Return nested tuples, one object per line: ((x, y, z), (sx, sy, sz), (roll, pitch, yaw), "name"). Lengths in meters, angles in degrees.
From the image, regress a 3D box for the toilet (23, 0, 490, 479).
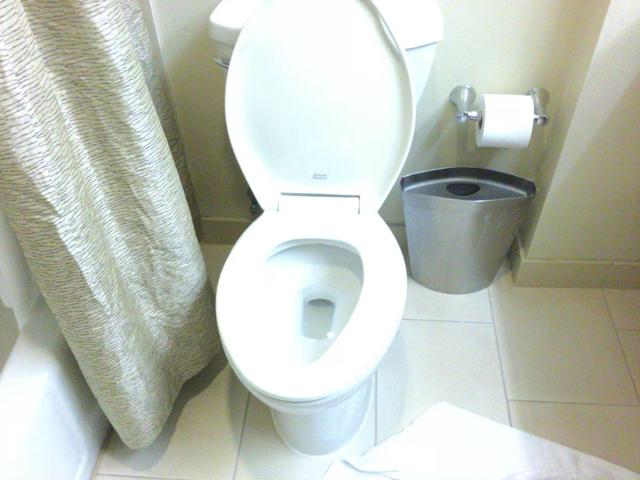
((-0.020, -0.020, 1.150), (0.480, 0.860, 0.750), (2, 44, 6), "toilet")

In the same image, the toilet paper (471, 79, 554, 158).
((0.420, -0.270, 1.280), (0.140, 0.120, 0.130), (2, 44, 6), "toilet paper")

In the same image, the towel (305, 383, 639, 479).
((0.340, 0.510, 1.170), (0.740, 0.040, 0.430), (2, 44, 6), "towel")
